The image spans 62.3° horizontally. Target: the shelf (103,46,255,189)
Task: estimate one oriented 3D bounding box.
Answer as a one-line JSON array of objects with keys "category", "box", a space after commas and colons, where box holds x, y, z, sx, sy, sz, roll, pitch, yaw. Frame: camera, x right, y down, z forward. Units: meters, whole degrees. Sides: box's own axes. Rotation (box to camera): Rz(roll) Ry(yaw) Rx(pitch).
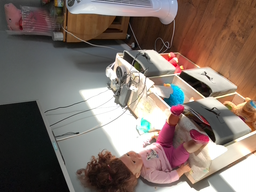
[{"category": "shelf", "box": [0.340, 0.010, 1.430, 0.990, 0.610, 0.290, 48, 136, 40]}]
